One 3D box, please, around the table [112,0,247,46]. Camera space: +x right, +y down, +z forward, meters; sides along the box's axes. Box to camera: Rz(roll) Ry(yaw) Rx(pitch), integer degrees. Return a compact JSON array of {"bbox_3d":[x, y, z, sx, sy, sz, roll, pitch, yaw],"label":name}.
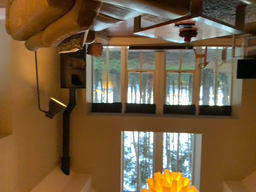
[{"bbox_3d":[0.700,-1.070,3.040,1.350,0.420,1.330,-3,-174,-38],"label":"table"}]
